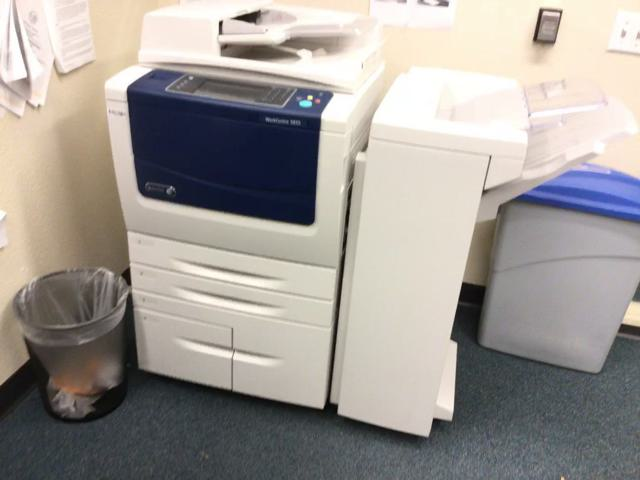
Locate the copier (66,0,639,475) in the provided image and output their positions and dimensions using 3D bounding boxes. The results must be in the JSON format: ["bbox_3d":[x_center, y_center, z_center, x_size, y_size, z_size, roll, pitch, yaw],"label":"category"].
[{"bbox_3d":[0.120,-0.070,1.710,1.280,1.110,0.640,7,29,11],"label":"copier"}]

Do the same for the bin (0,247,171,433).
[{"bbox_3d":[-0.680,0.280,1.710,0.300,0.360,0.360,7,29,11],"label":"bin"}]
